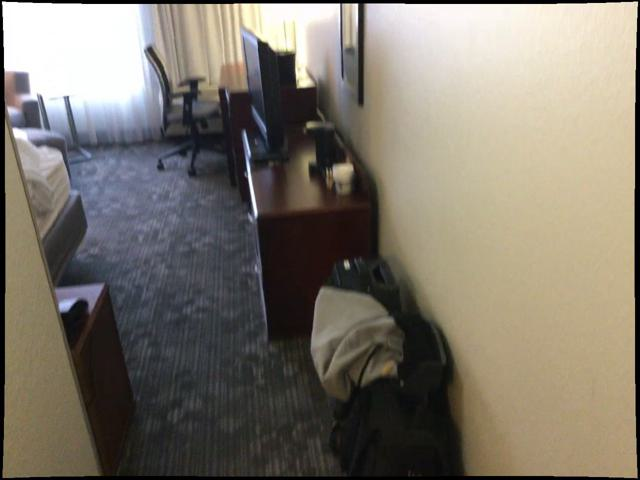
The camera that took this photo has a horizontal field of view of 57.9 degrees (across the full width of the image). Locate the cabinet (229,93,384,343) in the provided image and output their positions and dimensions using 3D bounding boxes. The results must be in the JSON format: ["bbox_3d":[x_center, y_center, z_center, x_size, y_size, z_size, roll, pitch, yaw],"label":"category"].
[{"bbox_3d":[-0.140,-0.240,3.090,0.529,0.701,1.570,-7,27,-8],"label":"cabinet"}]
